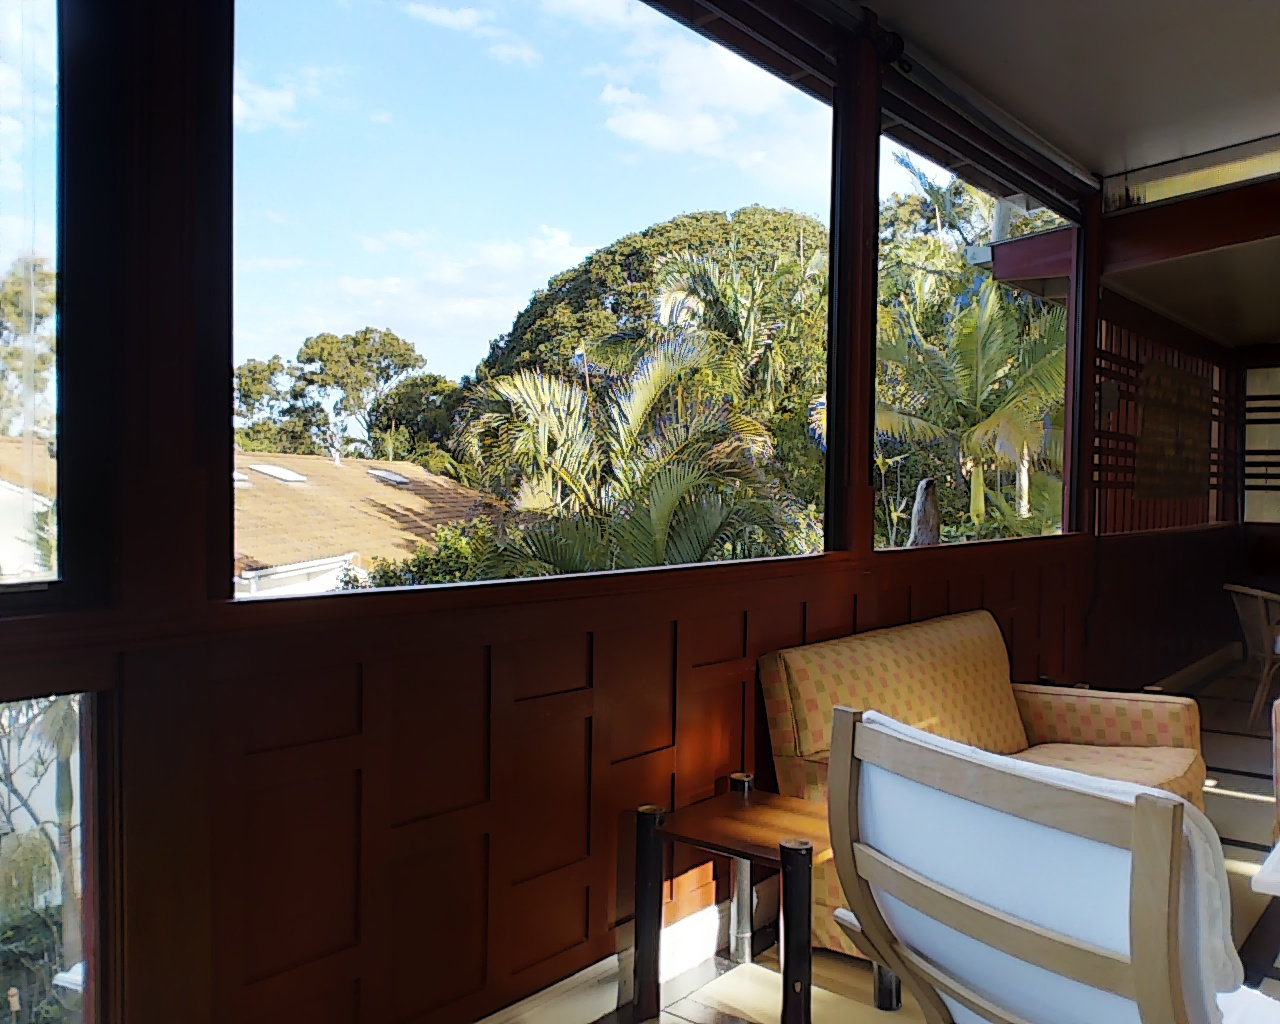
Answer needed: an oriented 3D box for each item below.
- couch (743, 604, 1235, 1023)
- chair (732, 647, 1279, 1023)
[{"bbox_3d":[1.170,0.800,3.390,0.930,0.830,1.600,1,1,40],"label":"couch"},{"bbox_3d":[0.750,0.760,1.620,0.920,0.950,0.800,0,1,-32],"label":"chair"}]
